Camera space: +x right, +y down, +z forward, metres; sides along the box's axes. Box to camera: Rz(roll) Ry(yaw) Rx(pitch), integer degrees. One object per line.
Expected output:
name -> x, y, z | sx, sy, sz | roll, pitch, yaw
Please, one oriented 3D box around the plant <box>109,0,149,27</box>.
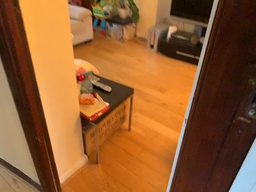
plant -> 0.000, -1.780, 4.110 | 0.770, 0.670, 0.260 | 25, 40, 29
